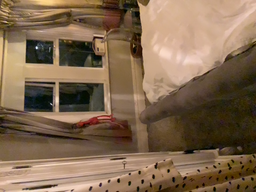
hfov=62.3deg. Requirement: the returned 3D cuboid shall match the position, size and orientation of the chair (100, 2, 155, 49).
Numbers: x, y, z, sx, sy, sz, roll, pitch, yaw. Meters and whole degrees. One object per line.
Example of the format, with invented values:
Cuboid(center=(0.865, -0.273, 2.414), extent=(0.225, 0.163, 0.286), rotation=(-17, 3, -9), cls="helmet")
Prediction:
Cuboid(center=(-0.020, -1.110, 3.440), extent=(0.460, 0.770, 0.510), rotation=(165, 105, -69), cls="chair")
